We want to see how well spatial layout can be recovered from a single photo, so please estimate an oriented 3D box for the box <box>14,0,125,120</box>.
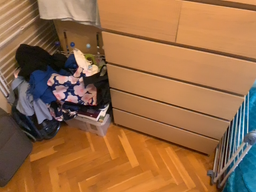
[{"bbox_3d":[-0.390,-0.460,1.640,0.600,1.440,0.360,18,51,16],"label":"box"}]
